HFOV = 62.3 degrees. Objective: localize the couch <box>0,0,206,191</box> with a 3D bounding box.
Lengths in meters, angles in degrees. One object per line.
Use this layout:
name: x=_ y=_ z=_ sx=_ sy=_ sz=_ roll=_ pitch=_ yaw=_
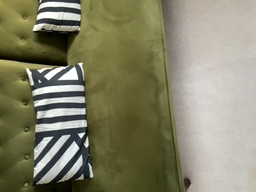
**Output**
couch: x=-0.280 y=-0.190 z=1.090 sx=0.920 sy=0.770 sz=1.680 roll=-11 pitch=80 yaw=36
